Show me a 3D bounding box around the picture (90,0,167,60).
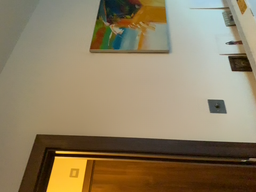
[{"bbox_3d":[0.020,-0.540,1.600,0.040,0.510,0.670,87,-175,-56],"label":"picture"}]
